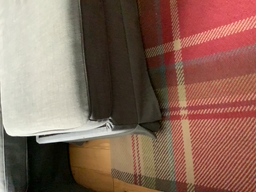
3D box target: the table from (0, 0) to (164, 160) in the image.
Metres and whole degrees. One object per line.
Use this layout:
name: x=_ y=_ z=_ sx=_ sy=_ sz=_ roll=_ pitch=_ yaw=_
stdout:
table: x=-0.270 y=-0.230 z=1.000 sx=0.610 sy=0.440 sz=0.930 roll=-12 pitch=82 yaw=39
